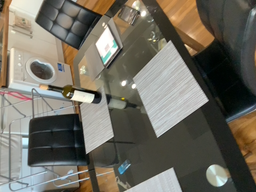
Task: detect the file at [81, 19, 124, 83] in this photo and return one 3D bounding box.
[{"bbox_3d":[-0.170,-0.270,1.300,0.320,0.030,0.240,-44,50,31],"label":"file"}]

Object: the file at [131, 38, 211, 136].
[{"bbox_3d":[0.150,-0.040,0.880,0.270,0.020,0.310,-44,50,31],"label":"file"}]

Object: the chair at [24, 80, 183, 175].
[{"bbox_3d":[-0.140,0.280,1.510,0.510,0.960,0.360,-36,54,36],"label":"chair"}]

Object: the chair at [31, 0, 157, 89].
[{"bbox_3d":[-0.290,-0.490,1.900,0.430,0.940,0.510,-46,49,29],"label":"chair"}]

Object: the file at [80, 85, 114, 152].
[{"bbox_3d":[-0.190,0.130,1.210,0.230,0.020,0.310,-37,54,35],"label":"file"}]
